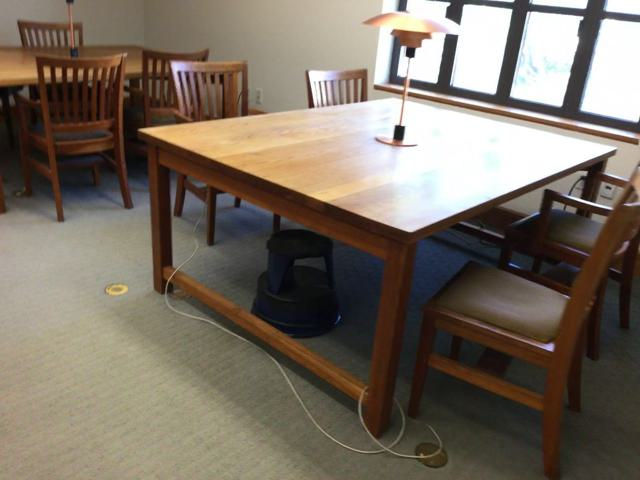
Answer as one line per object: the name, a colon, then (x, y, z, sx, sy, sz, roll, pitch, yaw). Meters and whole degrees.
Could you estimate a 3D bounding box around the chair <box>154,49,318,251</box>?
chair: (-0.510, -0.530, 3.290, 0.660, 0.960, 0.620, -7, 24, -34)

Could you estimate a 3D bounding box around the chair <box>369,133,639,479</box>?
chair: (0.720, 0.180, 1.900, 0.710, 0.880, 0.770, 19, 23, 30)

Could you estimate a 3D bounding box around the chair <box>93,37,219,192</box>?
chair: (-1.100, -0.860, 3.910, 0.460, 0.890, 0.650, 19, 23, 30)

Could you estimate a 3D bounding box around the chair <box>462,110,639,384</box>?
chair: (1.230, -0.060, 2.670, 0.660, 0.930, 0.940, 19, 23, 30)

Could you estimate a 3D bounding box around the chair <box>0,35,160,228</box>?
chair: (-1.460, -0.670, 3.390, 0.730, 0.920, 0.680, 19, 23, 30)
